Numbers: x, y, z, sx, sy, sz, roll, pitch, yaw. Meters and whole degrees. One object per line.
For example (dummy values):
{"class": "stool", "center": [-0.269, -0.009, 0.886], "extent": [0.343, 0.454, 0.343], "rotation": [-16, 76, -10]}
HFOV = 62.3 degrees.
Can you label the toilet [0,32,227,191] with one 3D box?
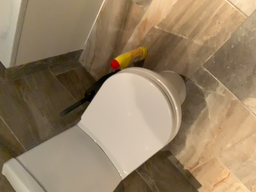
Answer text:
{"class": "toilet", "center": [-0.030, 0.140, 0.950], "extent": [0.400, 0.790, 0.610], "rotation": [47, 131, 9]}
